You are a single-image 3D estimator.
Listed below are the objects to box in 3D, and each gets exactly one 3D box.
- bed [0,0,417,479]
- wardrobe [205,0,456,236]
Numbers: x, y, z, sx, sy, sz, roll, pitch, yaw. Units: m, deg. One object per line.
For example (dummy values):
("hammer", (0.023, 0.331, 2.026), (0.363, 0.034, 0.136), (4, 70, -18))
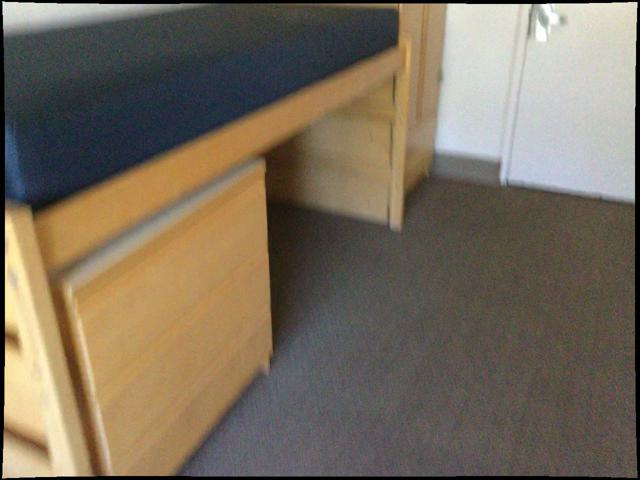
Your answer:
("bed", (-0.559, -0.201, 2.110), (1.058, 1.122, 2.360), (13, 32, 24))
("wardrobe", (0.090, -1.173, 3.070), (1.038, 1.944, 0.880), (13, 32, 24))
